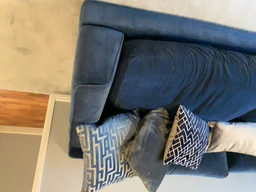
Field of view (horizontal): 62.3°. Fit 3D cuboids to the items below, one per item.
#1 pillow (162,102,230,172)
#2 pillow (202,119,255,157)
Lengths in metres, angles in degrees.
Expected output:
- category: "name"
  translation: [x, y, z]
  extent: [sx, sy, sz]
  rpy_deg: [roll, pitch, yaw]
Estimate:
- category: "pillow"
  translation: [0.470, 0.290, 1.490]
  extent: [0.130, 0.400, 0.380]
  rpy_deg: [-43, 133, 21]
- category: "pillow"
  translation: [0.880, 0.330, 1.730]
  extent: [0.480, 0.230, 0.140]
  rpy_deg: [-1, 123, -27]
